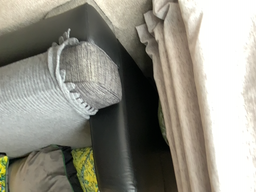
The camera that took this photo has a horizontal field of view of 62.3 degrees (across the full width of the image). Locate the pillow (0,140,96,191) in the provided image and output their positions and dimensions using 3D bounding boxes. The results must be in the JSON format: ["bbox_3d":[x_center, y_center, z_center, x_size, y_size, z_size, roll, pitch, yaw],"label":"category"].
[{"bbox_3d":[-0.450,0.520,1.140,0.420,0.430,0.280,-10,138,14],"label":"pillow"}]
